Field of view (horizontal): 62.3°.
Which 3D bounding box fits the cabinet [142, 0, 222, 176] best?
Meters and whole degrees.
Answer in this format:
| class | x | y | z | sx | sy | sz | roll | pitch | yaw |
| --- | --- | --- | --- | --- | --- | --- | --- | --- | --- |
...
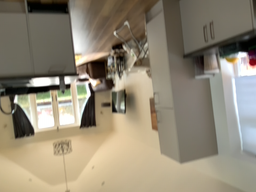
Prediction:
| class | x | y | z | sx | sy | sz | roll | pitch | yaw |
| --- | --- | --- | --- | --- | --- | --- | --- | --- | --- |
| cabinet | 0.730 | -0.160 | 3.010 | 0.620 | 2.250 | 0.640 | -7 | -179 | -20 |
